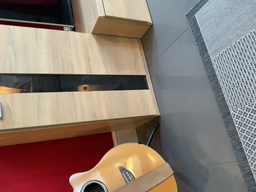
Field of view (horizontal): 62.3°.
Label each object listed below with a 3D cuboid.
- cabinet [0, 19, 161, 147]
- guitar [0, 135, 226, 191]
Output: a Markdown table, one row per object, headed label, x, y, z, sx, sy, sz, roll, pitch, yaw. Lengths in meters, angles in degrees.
| label | x | y | z | sx | sy | sz | roll | pitch | yaw |
| --- | --- | --- | --- | --- | --- | --- | --- | --- | --- |
| cabinet | -0.320 | -0.060 | 1.160 | 0.320 | 0.860 | 0.520 | -40 | 58 | 56 |
| guitar | -0.210 | 0.440 | 0.800 | 0.460 | 1.050 | 0.190 | -127 | 30 | -67 |
